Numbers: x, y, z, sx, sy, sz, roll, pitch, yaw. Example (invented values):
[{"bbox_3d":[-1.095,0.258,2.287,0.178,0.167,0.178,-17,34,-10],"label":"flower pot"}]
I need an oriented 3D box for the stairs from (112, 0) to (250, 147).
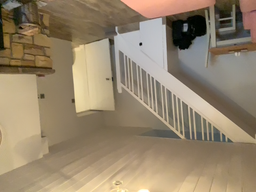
[{"bbox_3d":[0.880,-0.330,4.020,2.420,2.420,0.160,-2,-176,24],"label":"stairs"}]

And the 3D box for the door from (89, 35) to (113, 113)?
[{"bbox_3d":[-0.720,-0.540,5.550,0.620,1.960,0.060,-1,-175,38],"label":"door"}]

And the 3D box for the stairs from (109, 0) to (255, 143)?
[{"bbox_3d":[1.040,-0.390,4.350,2.680,2.370,0.750,-2,-176,25],"label":"stairs"}]

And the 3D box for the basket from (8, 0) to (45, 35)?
[{"bbox_3d":[-1.390,-1.080,2.920,0.300,0.380,0.300,-2,-176,25],"label":"basket"}]
